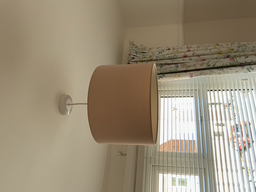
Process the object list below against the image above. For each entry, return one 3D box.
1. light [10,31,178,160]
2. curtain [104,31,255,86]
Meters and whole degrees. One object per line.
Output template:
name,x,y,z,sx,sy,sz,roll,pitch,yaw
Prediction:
light,-0.090,0.010,0.960,0.550,0.380,0.420,4,-34,5
curtain,1.070,-0.310,1.630,2.520,0.360,0.180,-1,-32,12
